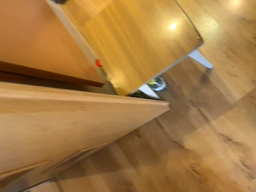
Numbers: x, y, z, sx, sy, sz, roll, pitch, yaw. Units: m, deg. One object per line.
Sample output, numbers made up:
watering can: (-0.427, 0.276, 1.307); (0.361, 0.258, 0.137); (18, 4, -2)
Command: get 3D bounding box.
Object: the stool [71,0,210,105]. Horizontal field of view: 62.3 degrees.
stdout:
stool: (0.090, -0.180, 0.870); (0.340, 0.450, 0.300); (-34, 76, 18)
